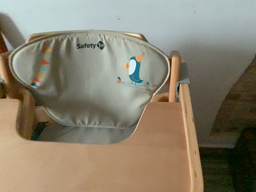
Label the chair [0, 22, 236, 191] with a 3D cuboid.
[{"bbox_3d":[-0.090,0.300,0.710,0.510,0.910,0.470,0,48,5],"label":"chair"}]
